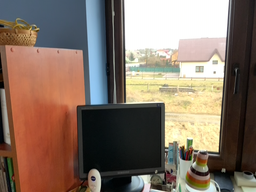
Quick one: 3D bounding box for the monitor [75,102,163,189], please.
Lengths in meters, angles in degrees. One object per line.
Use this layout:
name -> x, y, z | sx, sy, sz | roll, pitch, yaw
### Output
monitor -> -0.030, 0.220, 0.950 | 0.370, 0.360, 0.050 | -4, 14, -9
